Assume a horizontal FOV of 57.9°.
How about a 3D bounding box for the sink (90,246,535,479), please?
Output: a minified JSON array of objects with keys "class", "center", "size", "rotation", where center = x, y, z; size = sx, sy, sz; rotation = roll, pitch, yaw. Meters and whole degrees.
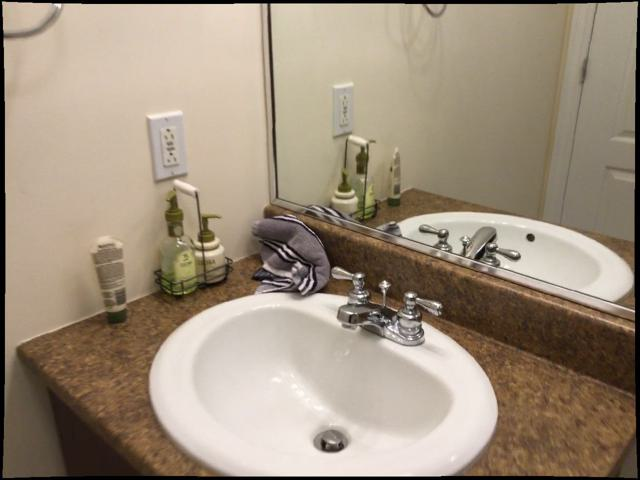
[{"class":"sink","center":[-0.010,0.240,0.870],"size":[0.470,0.220,0.430],"rotation":[20,30,37]}]
